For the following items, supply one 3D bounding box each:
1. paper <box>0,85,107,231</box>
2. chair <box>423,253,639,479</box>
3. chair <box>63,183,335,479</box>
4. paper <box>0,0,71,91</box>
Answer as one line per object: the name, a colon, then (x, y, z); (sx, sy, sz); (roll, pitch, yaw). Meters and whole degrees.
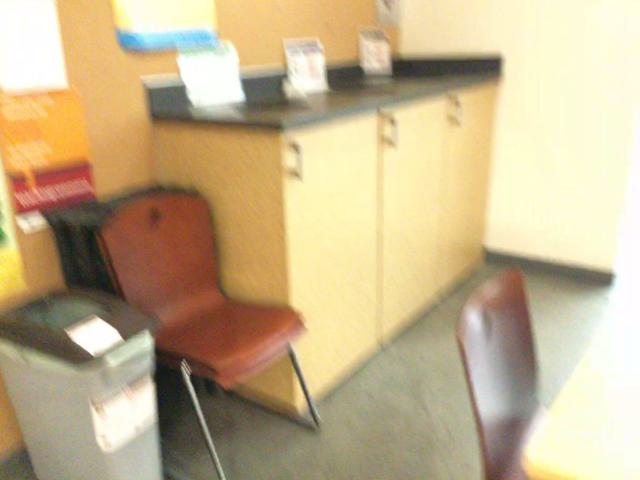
paper: (-0.860, -0.270, 1.850); (0.060, 0.420, 0.290); (6, 19, 33)
chair: (0.590, 0.480, 1.270); (0.560, 0.750, 0.460); (6, 19, 33)
chair: (-0.380, 0.270, 1.960); (0.620, 0.850, 0.490); (4, 17, 34)
paper: (-0.880, -0.600, 1.720); (0.050, 0.290, 0.220); (6, 19, 33)
